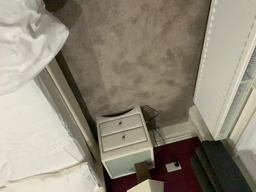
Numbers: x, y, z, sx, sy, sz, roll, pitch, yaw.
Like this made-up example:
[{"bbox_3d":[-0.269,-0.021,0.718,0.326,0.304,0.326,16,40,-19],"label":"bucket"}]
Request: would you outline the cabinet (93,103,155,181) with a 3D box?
[{"bbox_3d":[-0.030,0.470,2.120,0.470,0.470,0.540,-15,140,-2],"label":"cabinet"}]
